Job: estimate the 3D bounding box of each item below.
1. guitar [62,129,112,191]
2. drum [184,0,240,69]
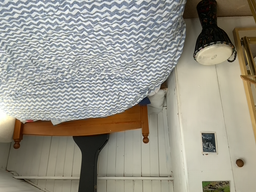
[{"bbox_3d":[-0.380,0.700,2.070,0.400,0.700,0.290,-2,160,4],"label":"guitar"},{"bbox_3d":[0.590,-0.490,1.570,0.250,0.490,0.280,-2,160,3],"label":"drum"}]
